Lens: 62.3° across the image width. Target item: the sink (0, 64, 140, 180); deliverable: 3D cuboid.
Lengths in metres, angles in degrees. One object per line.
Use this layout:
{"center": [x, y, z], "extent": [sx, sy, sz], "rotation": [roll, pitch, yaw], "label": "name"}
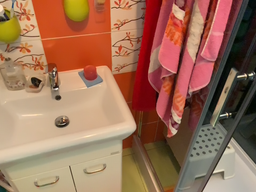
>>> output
{"center": [-0.300, 0.070, 0.990], "extent": [0.580, 0.140, 0.470], "rotation": [-11, 42, -15], "label": "sink"}
